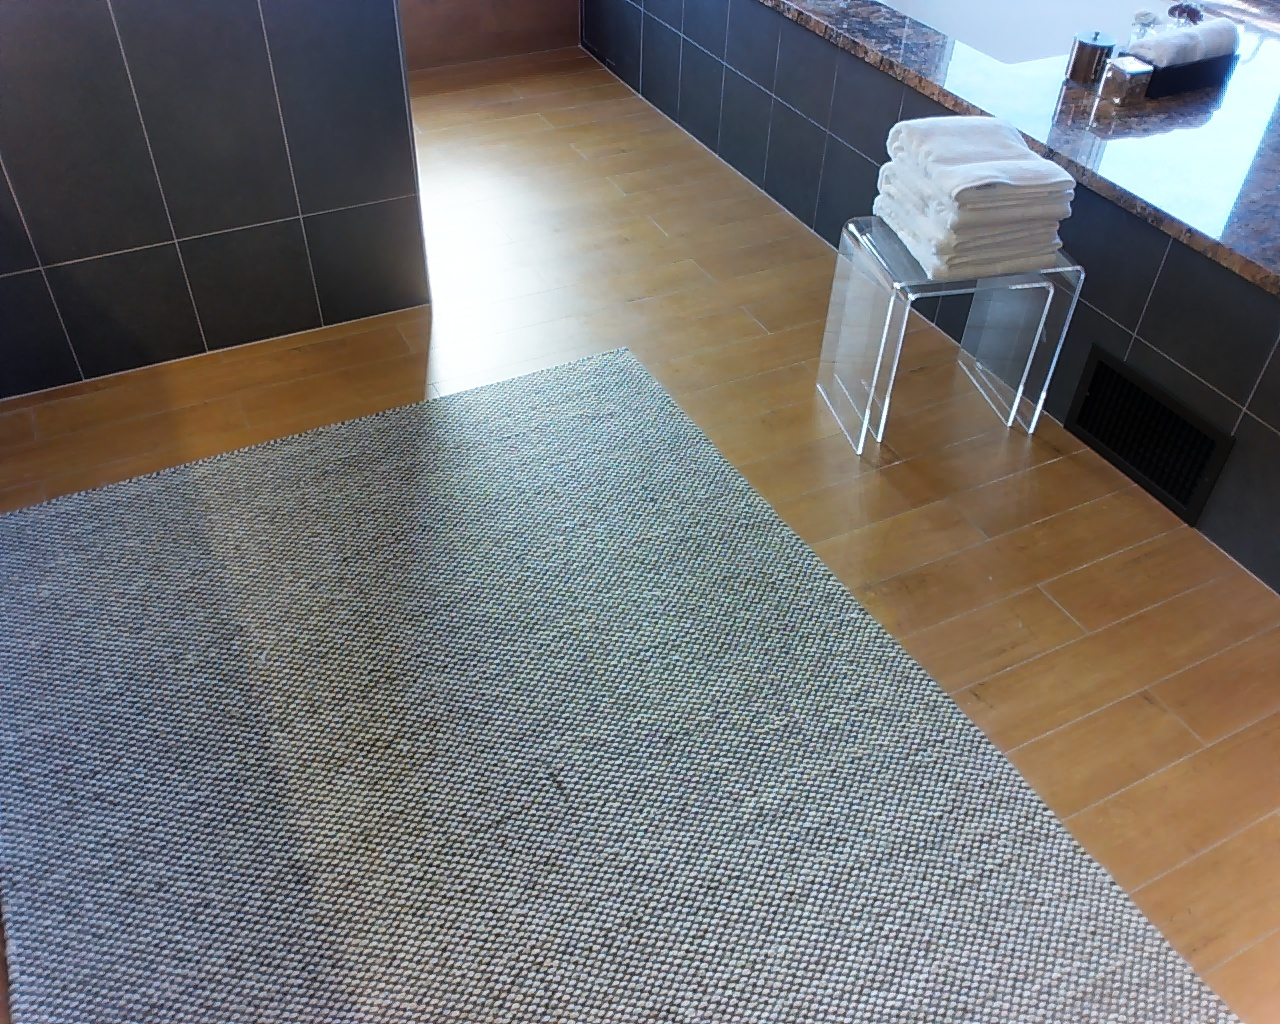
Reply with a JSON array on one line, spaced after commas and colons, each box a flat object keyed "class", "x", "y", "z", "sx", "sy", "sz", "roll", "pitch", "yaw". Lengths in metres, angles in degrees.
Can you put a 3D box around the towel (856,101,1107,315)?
[{"class": "towel", "x": 0.720, "y": -0.670, "z": 2.340, "sx": 0.320, "sy": 0.280, "sz": 0.390, "roll": -9, "pitch": 43, "yaw": -13}]
